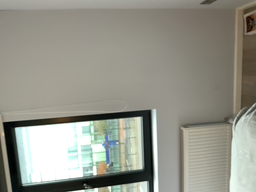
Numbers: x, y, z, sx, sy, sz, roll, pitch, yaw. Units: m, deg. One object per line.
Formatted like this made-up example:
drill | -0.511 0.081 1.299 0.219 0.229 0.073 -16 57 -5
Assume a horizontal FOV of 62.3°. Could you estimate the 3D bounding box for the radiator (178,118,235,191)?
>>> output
radiator | 0.790 0.880 2.140 0.070 0.560 1.280 -145 52 -78
